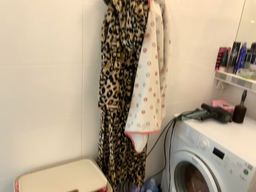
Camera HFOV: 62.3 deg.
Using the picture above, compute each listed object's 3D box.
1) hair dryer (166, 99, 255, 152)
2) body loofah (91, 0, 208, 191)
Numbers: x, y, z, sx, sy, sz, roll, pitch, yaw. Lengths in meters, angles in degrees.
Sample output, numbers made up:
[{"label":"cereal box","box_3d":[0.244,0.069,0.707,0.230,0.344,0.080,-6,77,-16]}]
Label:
[{"label":"hair dryer","box_3d":[0.580,0.180,1.500,0.500,0.170,0.320,-6,23,-28]},{"label":"body loofah","box_3d":[0.070,0.080,1.250,0.470,1.560,0.270,-7,24,-30]}]
